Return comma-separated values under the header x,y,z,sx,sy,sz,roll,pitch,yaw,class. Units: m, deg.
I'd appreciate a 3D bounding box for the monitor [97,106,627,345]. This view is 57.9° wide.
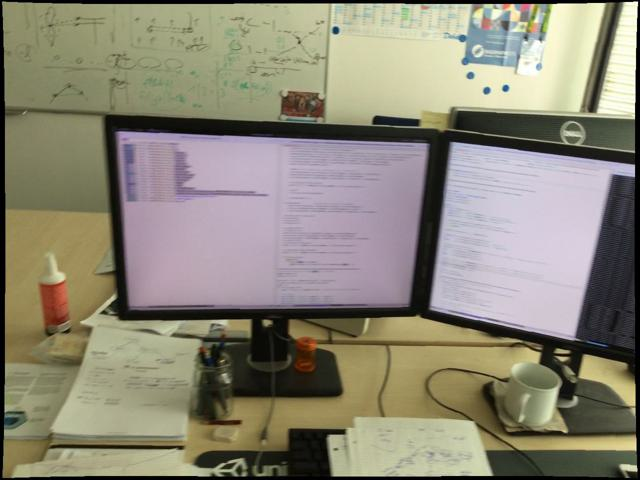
x,y,z,sx,sy,sz,roll,pitch,yaw,class
0.070,-0.020,1.030,0.829,0.380,0.140,0,24,-7,monitor

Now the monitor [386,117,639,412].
x,y,z,sx,sy,sz,roll,pitch,yaw,class
0.450,0.050,1.020,0.609,0.440,0.130,10,25,15,monitor

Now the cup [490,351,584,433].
x,y,z,sx,sy,sz,roll,pitch,yaw,class
0.400,0.280,1.080,0.110,0.090,0.120,0,24,-7,cup
